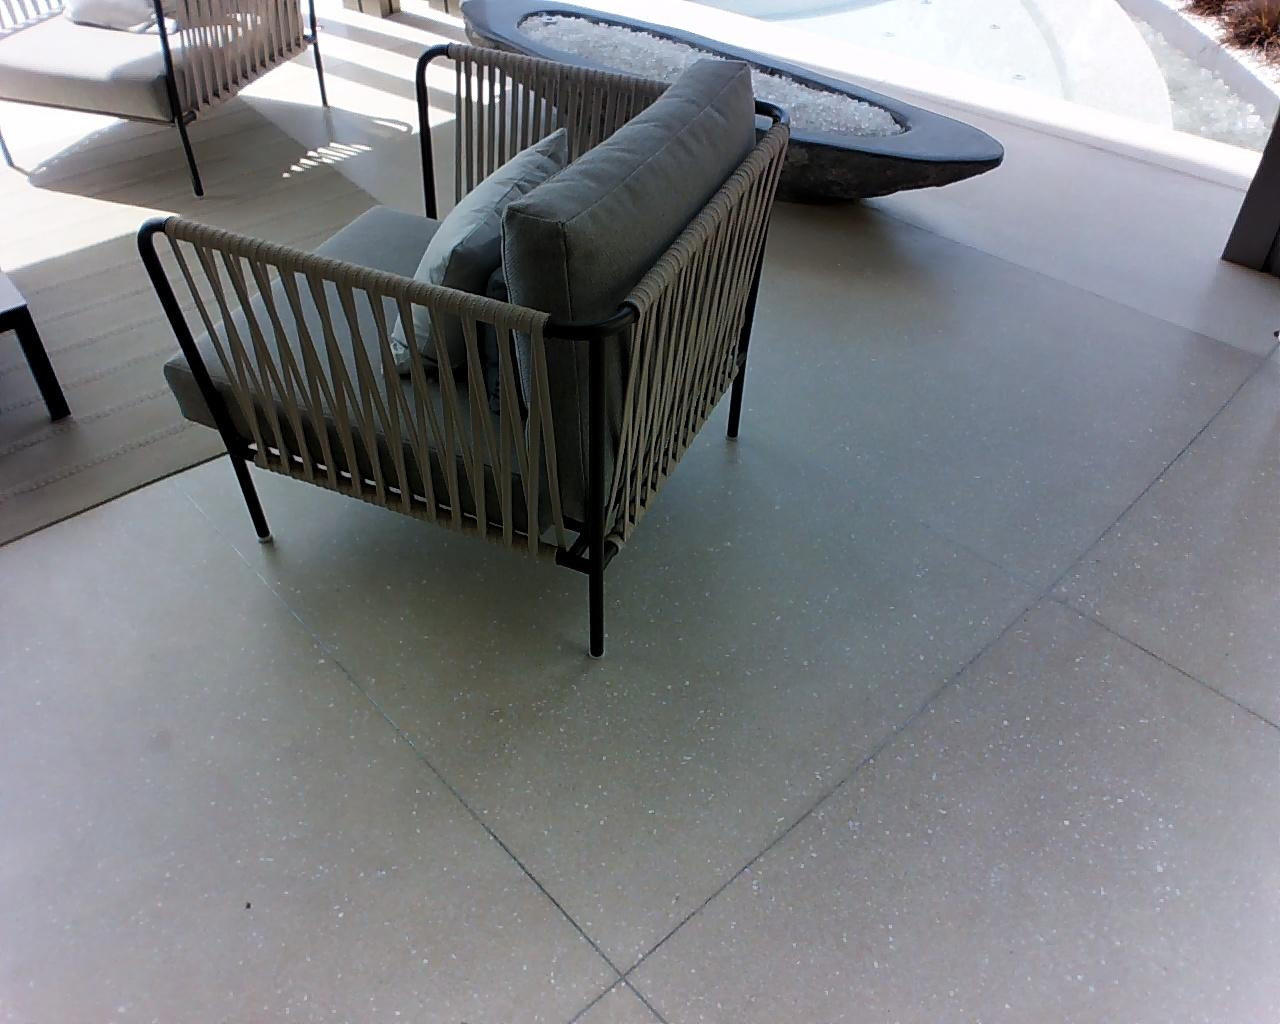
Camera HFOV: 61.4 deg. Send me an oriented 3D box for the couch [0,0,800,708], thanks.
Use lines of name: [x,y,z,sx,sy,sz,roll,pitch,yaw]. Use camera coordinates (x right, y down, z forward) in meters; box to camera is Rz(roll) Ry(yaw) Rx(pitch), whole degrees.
couch: [-0.350,-0.380,2.080,1.010,0.860,0.900,16,44,16]
